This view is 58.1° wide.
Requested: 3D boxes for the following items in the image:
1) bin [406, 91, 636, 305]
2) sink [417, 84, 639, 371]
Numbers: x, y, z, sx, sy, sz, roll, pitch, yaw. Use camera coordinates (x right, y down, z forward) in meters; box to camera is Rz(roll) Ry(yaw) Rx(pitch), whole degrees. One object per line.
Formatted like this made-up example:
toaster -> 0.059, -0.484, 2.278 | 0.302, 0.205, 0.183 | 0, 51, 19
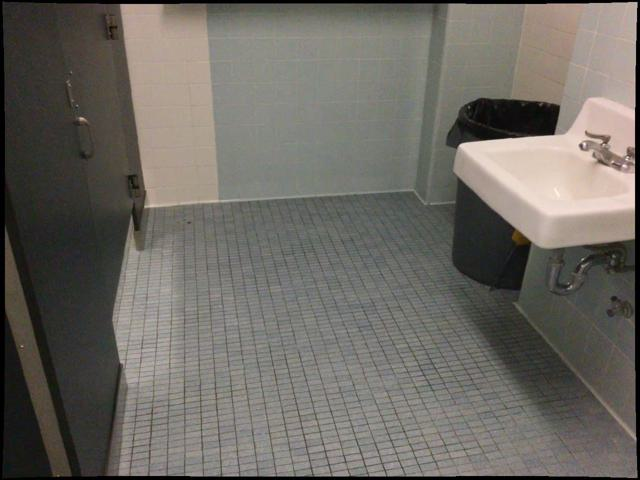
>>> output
bin -> 0.818, -0.221, 2.560 | 0.609, 0.681, 0.670 | -7, 29, -13
sink -> 0.678, -0.090, 1.750 | 0.489, 0.581, 0.680 | -7, 29, -13
